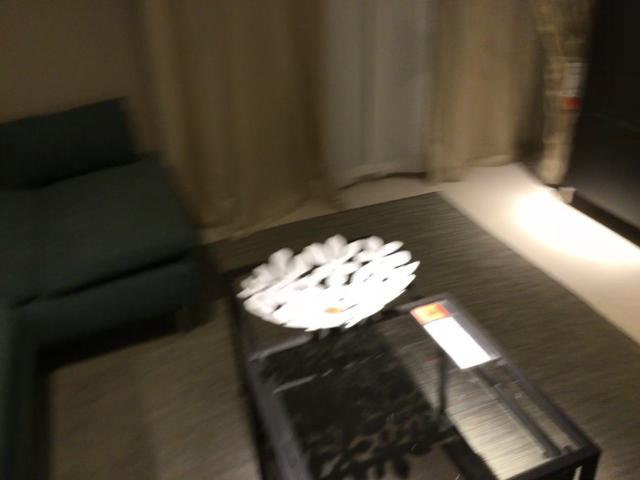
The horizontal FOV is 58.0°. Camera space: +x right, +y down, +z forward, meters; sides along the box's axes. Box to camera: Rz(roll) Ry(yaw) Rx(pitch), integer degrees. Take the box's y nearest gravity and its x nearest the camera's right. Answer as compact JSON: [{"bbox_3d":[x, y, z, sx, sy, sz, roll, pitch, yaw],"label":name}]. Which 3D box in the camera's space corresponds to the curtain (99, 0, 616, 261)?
[{"bbox_3d":[0.240,-0.980,2.520,2.200,1.670,0.380,-14,29,-12],"label":"curtain"}]

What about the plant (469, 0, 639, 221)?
[{"bbox_3d":[1.100,-0.920,2.470,0.680,1.450,0.580,-15,29,-13],"label":"plant"}]

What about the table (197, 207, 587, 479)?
[{"bbox_3d":[0.070,0.400,1.390,0.510,0.540,0.940,-14,29,-12],"label":"table"}]
